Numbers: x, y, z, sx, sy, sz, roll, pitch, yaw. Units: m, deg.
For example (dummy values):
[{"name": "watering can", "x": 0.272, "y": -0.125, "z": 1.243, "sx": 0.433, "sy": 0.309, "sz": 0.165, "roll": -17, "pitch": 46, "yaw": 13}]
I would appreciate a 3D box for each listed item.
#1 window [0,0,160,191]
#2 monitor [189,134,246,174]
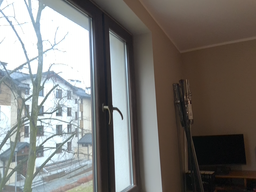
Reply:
[{"name": "window", "x": -0.210, "y": 0.080, "z": 1.300, "sx": 0.240, "sy": 1.550, "sz": 1.490, "roll": -6, "pitch": -7, "yaw": 27}, {"name": "monitor", "x": 1.070, "y": 0.700, "z": 2.560, "sx": 0.620, "sy": 0.430, "sz": 0.040, "roll": -4, "pitch": -5, "yaw": 3}]
